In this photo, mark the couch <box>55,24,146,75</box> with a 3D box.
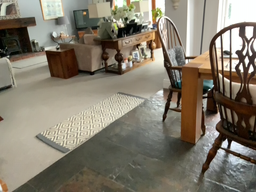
[{"bbox_3d":[-0.580,-1.290,5.400,1.130,0.820,2.040,13,29,36],"label":"couch"}]
